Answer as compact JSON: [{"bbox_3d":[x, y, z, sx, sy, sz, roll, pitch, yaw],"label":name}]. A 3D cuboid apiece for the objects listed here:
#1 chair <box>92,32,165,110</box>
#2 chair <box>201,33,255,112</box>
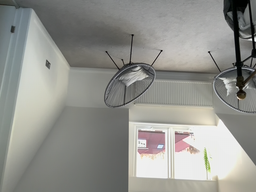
[{"bbox_3d":[0.010,-0.290,3.120,0.700,0.840,0.790,14,163,-40],"label":"chair"},{"bbox_3d":[1.600,-0.260,3.040,0.800,0.810,0.710,13,163,-39],"label":"chair"}]
